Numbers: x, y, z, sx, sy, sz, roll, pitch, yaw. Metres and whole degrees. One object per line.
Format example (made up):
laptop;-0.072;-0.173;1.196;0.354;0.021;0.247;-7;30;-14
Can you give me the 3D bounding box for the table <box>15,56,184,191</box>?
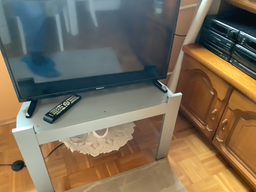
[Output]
table;-0.180;0.130;1.260;0.770;0.450;0.500;-11;40;-18
